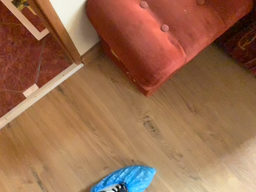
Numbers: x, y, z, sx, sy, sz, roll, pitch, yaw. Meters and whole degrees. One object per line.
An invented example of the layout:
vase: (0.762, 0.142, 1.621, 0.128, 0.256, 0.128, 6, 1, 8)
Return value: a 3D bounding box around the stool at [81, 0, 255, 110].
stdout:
stool: (0.130, -0.240, 0.840, 0.440, 0.400, 0.330, -40, 82, -9)
